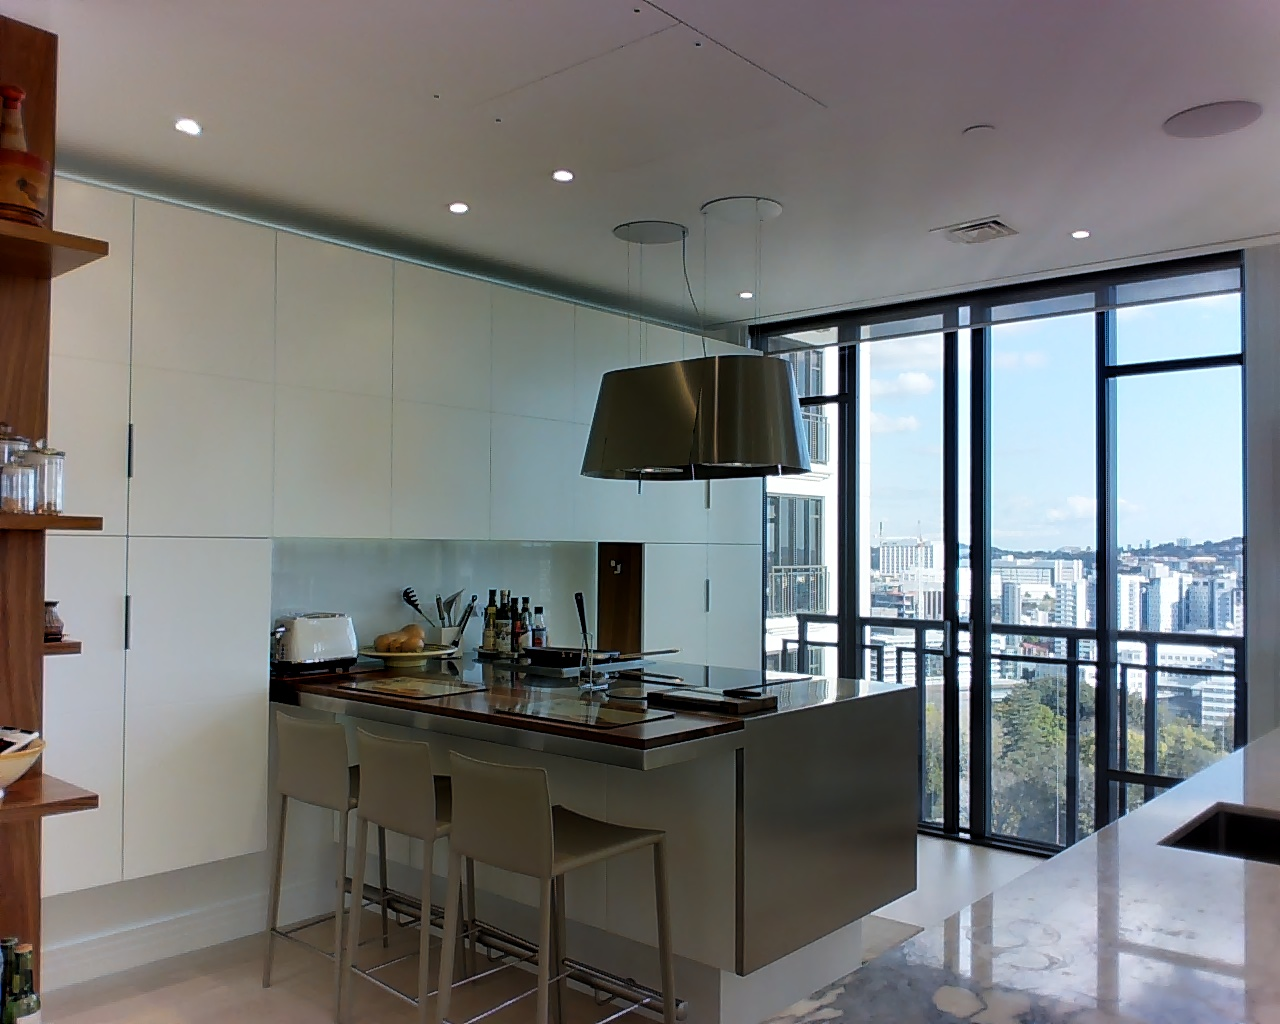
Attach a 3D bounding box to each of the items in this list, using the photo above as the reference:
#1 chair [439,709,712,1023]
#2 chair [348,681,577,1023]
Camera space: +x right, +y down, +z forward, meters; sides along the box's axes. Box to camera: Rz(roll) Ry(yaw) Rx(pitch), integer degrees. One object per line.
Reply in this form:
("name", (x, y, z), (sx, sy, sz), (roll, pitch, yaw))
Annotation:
("chair", (-0.160, 0.970, 2.770), (0.460, 0.810, 0.530), (-1, -2, 42))
("chair", (-0.500, 0.970, 3.050), (0.440, 0.890, 0.460), (-1, -2, 42))
